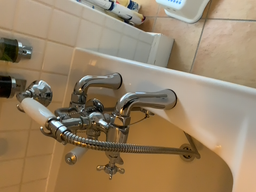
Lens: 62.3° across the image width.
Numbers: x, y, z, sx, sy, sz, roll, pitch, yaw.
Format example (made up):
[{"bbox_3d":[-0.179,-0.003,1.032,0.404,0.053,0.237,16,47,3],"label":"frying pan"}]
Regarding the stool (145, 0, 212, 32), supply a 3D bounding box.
[{"bbox_3d":[0.260,-0.550,1.010,0.330,0.140,0.310,-54,55,26],"label":"stool"}]
